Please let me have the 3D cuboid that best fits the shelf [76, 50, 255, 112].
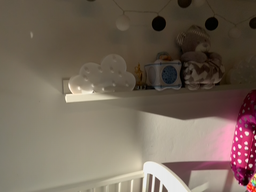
[{"bbox_3d":[0.260,-0.120,1.070,0.970,0.190,0.280,-6,19,-28],"label":"shelf"}]
